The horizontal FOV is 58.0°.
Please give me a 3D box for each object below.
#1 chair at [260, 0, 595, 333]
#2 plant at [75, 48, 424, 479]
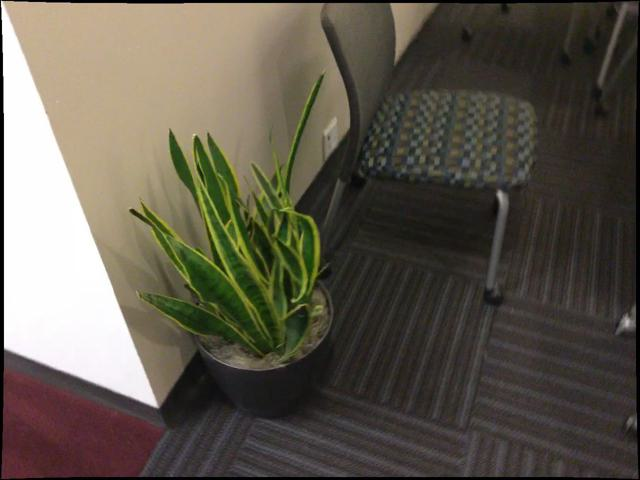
[{"bbox_3d":[0.259,-0.281,1.650,0.669,0.791,0.490,21,44,12],"label":"chair"},{"bbox_3d":[-0.120,0.080,1.310,0.389,0.731,0.630,21,44,12],"label":"plant"}]
